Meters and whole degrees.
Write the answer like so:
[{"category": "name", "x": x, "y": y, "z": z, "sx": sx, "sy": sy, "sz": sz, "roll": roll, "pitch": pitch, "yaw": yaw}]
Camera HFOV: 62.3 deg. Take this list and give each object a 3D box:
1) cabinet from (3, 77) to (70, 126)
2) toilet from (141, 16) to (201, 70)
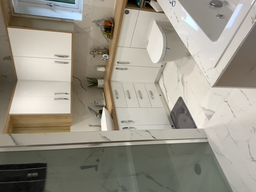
[{"category": "cabinet", "x": -1.190, "y": 0.070, "z": 2.890, "sx": 0.270, "sy": 0.760, "sz": 0.620, "roll": 108, "pitch": 156, "yaw": -43}, {"category": "toilet", "x": 0.480, "y": -0.630, "z": 2.530, "sx": 0.370, "sy": 0.450, "sz": 0.520, "roll": 108, "pitch": 156, "yaw": -43}]
